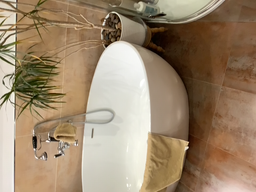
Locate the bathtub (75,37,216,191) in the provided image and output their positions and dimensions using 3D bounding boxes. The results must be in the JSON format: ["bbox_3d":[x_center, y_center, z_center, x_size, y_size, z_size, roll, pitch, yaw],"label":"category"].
[{"bbox_3d":[0.030,0.480,1.850,0.770,0.570,1.790,25,111,46],"label":"bathtub"}]
